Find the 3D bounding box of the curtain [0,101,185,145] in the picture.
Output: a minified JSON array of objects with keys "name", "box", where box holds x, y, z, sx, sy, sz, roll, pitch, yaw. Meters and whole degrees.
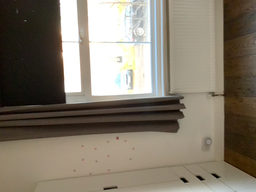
[{"name":"curtain","box":[-0.380,0.230,1.970,0.160,1.880,0.290,177,91,-78]}]
